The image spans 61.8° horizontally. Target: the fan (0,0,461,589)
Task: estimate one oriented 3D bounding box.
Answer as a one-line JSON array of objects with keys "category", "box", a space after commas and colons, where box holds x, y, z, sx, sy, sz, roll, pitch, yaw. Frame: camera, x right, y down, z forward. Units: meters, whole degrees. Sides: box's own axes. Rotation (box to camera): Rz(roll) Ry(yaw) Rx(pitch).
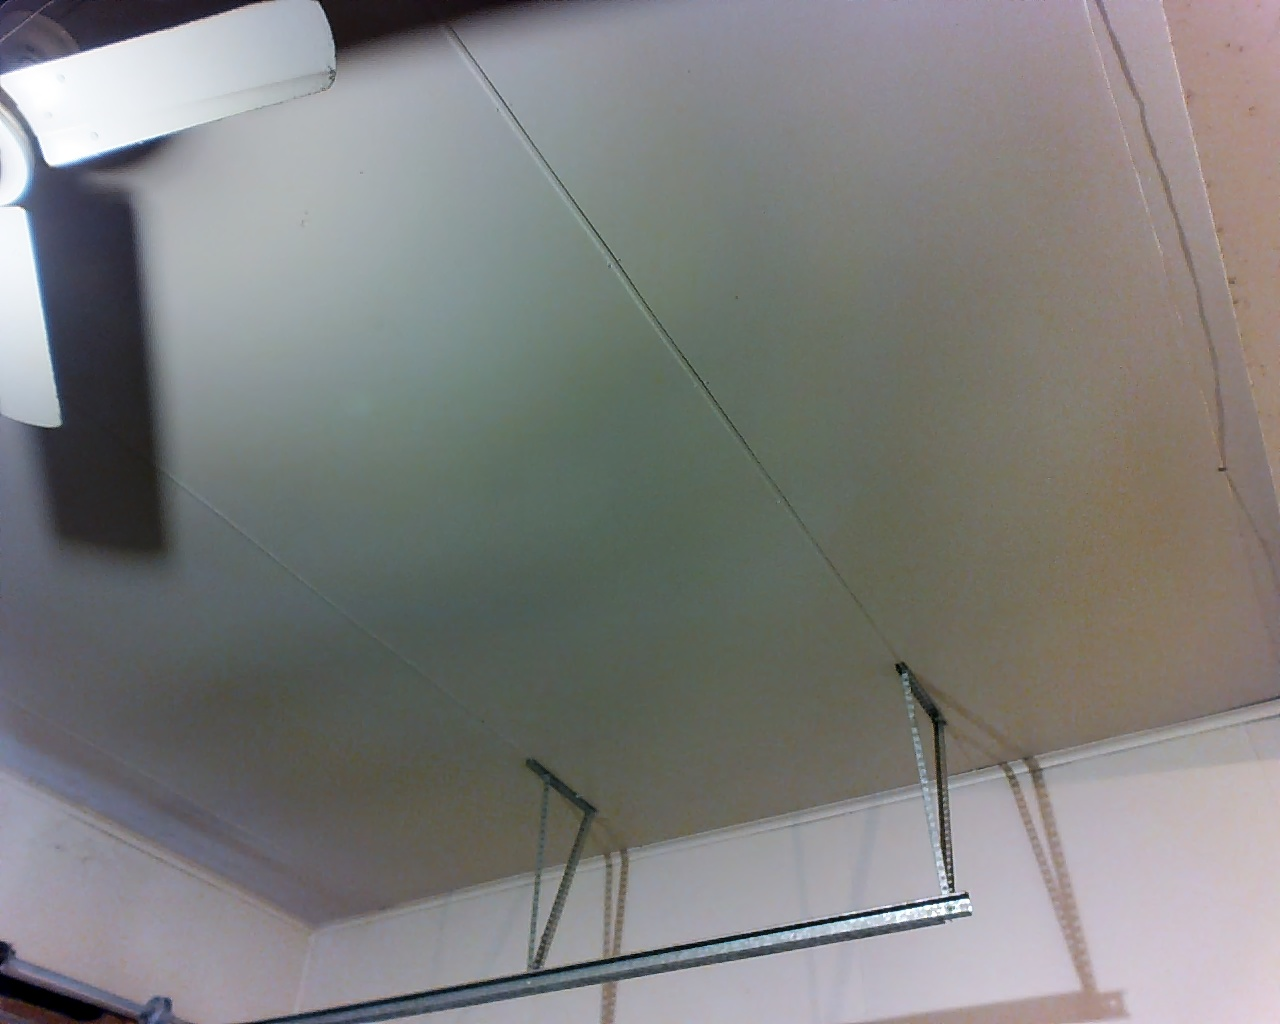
[{"category": "fan", "box": [-1.000, -0.510, 1.730, 1.120, 0.390, 1.060, 27, -18, 49]}]
